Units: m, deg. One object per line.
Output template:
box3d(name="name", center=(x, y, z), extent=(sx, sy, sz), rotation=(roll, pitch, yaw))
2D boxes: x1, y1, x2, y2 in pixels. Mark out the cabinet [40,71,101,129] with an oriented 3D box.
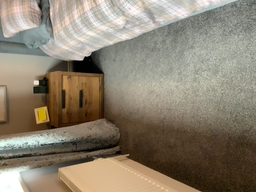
box3d(name="cabinet", center=(-0.590, 0.020, 2.160), extent=(0.450, 0.470, 0.510), rotation=(4, 95, 53))
